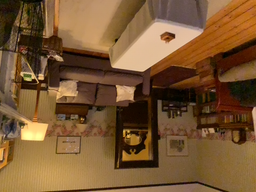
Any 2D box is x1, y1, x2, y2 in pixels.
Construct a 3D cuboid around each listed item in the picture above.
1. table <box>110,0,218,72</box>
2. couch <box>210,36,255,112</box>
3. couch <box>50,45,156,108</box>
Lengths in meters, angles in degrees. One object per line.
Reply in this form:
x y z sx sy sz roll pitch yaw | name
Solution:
0.290 -0.720 2.580 0.630 0.420 1.460 5 170 -20 | table
2.140 -0.330 3.120 0.860 0.940 1.620 5 170 -20 | couch
-0.500 -0.280 4.140 1.820 0.810 0.970 5 170 -21 | couch
